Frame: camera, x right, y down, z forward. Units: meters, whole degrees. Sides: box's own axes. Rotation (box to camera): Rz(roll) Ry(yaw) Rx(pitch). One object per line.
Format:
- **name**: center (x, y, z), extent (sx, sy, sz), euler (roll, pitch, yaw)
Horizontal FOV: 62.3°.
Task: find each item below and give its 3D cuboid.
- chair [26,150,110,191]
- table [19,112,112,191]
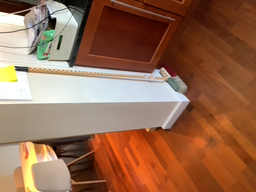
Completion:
- **chair**: center (-0.820, 1.140, 2.890), extent (0.490, 0.930, 0.470), euler (-58, 46, 35)
- **table**: center (-0.910, 1.380, 3.070), extent (2.210, 0.870, 0.950), euler (59, 133, 36)
